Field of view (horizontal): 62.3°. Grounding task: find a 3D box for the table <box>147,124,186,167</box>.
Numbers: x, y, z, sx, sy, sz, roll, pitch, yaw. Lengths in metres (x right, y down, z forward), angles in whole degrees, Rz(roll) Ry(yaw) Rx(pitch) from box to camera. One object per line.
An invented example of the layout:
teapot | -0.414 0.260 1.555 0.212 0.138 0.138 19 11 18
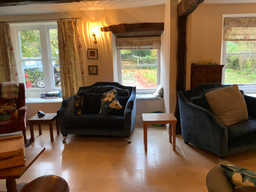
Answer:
table | 0.530 0.690 3.020 0.490 0.480 0.400 -1 11 3
